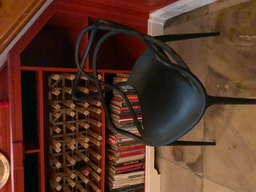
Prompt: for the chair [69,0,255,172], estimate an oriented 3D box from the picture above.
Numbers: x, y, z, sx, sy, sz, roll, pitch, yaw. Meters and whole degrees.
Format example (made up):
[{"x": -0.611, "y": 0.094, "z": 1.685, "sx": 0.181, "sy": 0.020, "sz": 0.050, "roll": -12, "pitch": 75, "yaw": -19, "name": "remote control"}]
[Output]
[{"x": 0.200, "y": -0.060, "z": 1.130, "sx": 0.540, "sy": 0.810, "sz": 0.570, "roll": -57, "pitch": 45, "yaw": 43, "name": "chair"}]
